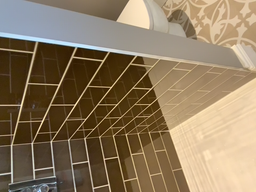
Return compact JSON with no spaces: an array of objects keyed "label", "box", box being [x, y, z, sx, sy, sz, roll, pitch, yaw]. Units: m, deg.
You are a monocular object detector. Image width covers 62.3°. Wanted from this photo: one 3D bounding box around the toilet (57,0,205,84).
[{"label":"toilet","box":[-0.010,-0.430,1.510,0.610,0.780,0.390,-45,53,47]}]
